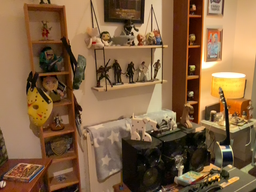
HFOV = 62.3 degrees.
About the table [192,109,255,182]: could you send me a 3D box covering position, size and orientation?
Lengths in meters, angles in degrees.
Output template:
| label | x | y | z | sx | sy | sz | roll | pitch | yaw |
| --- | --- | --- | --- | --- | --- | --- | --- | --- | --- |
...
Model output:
| label | x | y | z | sx | sy | sz | roll | pitch | yaw |
| --- | --- | --- | --- | --- | --- | --- | --- | --- | --- |
| table | 1.110 | 0.510 | 2.400 | 0.590 | 0.550 | 0.440 | -10 | 16 | -32 |
